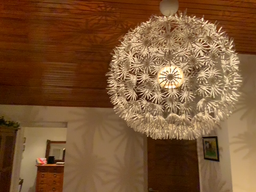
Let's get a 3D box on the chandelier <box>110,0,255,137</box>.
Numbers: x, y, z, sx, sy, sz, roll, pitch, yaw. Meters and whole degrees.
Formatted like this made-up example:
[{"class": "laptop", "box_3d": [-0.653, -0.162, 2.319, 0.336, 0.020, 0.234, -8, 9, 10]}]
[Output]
[{"class": "chandelier", "box_3d": [0.330, -0.220, 1.650, 0.820, 1.050, 0.910, 3, 169, -11]}]
